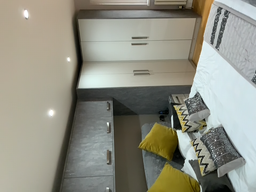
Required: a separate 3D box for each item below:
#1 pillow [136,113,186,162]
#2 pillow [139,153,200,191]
[{"bbox_3d":[0.460,0.580,2.970,0.510,0.440,0.180,39,172,16],"label":"pillow"},{"bbox_3d":[0.470,1.020,2.370,0.240,0.460,0.540,35,-162,-48],"label":"pillow"}]
